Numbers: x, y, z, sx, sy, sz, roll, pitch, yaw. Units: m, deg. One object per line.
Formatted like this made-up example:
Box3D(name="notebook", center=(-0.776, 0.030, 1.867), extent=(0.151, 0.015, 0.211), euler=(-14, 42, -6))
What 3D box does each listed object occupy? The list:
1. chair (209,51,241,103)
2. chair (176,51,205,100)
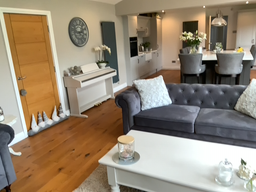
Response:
Box3D(name="chair", center=(2.140, -0.450, 4.690), extent=(0.550, 1.030, 0.590), euler=(5, 18, 26))
Box3D(name="chair", center=(1.480, -0.510, 5.020), extent=(0.550, 1.030, 0.580), euler=(5, 18, 26))
